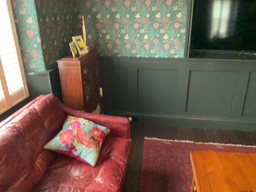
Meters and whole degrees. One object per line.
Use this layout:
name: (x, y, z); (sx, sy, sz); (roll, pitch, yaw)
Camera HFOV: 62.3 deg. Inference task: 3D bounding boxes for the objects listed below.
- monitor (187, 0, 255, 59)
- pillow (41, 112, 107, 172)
monitor: (1.490, -0.900, 2.700); (1.350, 0.830, 0.060); (3, 23, 9)
pillow: (-0.440, 0.380, 1.860); (0.410, 0.310, 0.400); (3, 23, 9)
